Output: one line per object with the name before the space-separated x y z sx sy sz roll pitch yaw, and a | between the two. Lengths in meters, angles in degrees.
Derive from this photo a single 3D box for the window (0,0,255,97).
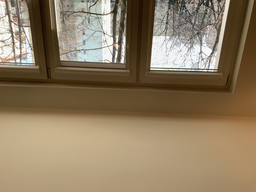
window | -0.240 -0.810 1.680 2.590 1.590 0.130 2 -159 1
